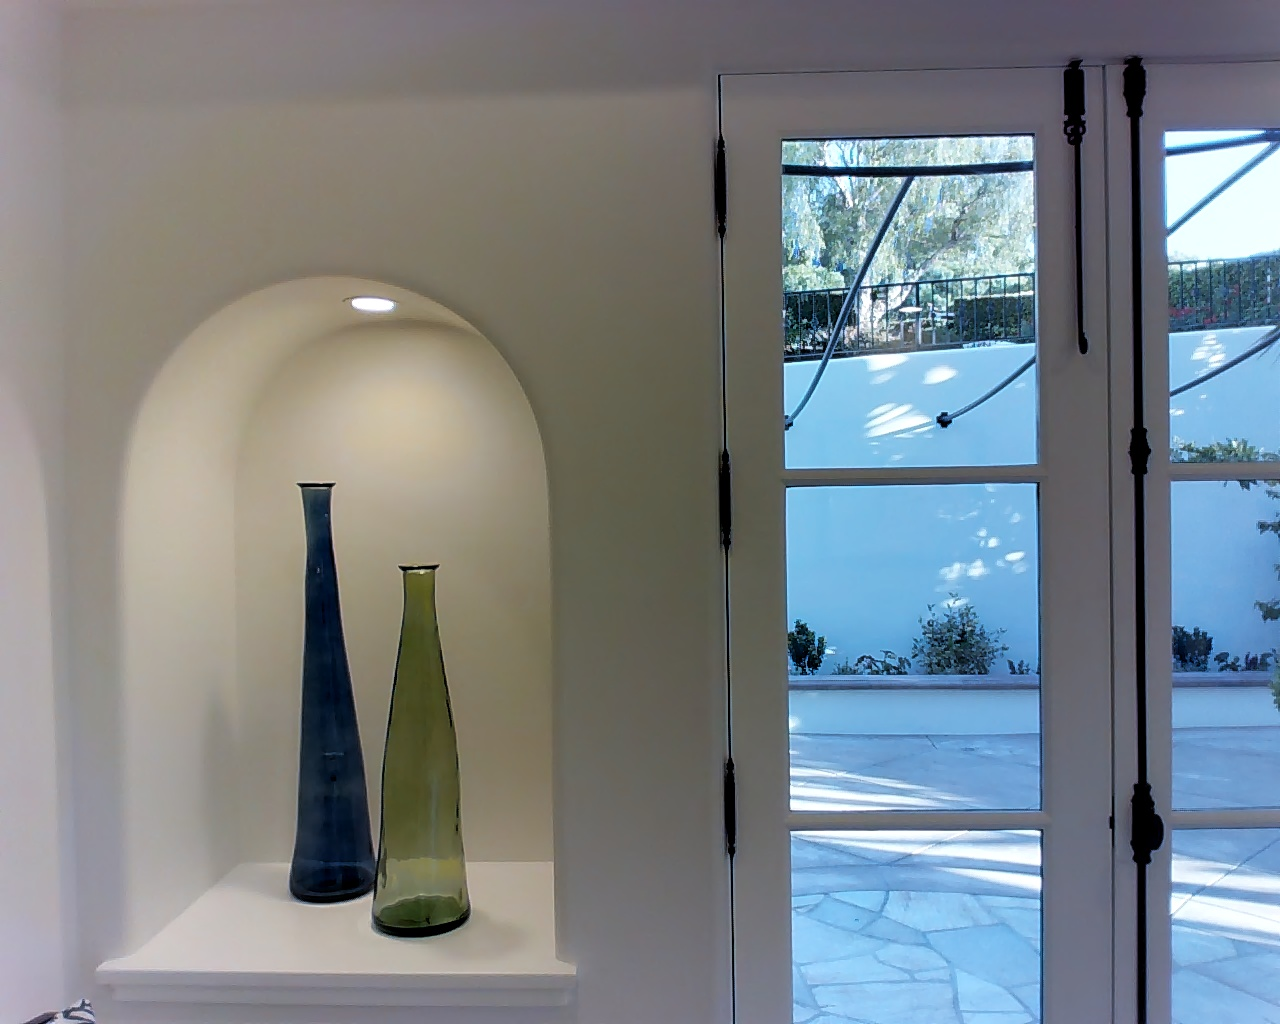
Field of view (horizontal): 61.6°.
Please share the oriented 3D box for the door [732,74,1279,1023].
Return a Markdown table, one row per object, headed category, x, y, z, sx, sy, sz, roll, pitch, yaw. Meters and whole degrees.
| category | x | y | z | sx | sy | sz | roll | pitch | yaw |
| --- | --- | --- | --- | --- | --- | --- | --- | --- | --- |
| door | 0.970 | 0.370 | 2.160 | 1.520 | 2.431 | 0.110 | -1 | 1 | 2 |
